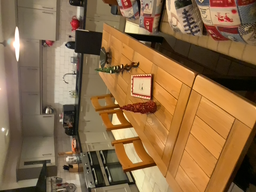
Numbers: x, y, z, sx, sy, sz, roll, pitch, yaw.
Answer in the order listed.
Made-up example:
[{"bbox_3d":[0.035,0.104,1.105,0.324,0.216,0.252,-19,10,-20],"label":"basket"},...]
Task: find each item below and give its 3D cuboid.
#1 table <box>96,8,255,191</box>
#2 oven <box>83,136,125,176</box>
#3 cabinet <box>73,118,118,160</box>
[{"bbox_3d":[0.380,-0.340,2.450,3.000,0.790,0.890,-127,43,-57],"label":"table"},{"bbox_3d":[-0.560,1.330,4.800,0.500,0.760,0.630,-126,42,-56],"label":"oven"},{"bbox_3d":[-0.850,1.050,5.330,0.820,0.910,0.590,-126,42,-56],"label":"cabinet"}]
